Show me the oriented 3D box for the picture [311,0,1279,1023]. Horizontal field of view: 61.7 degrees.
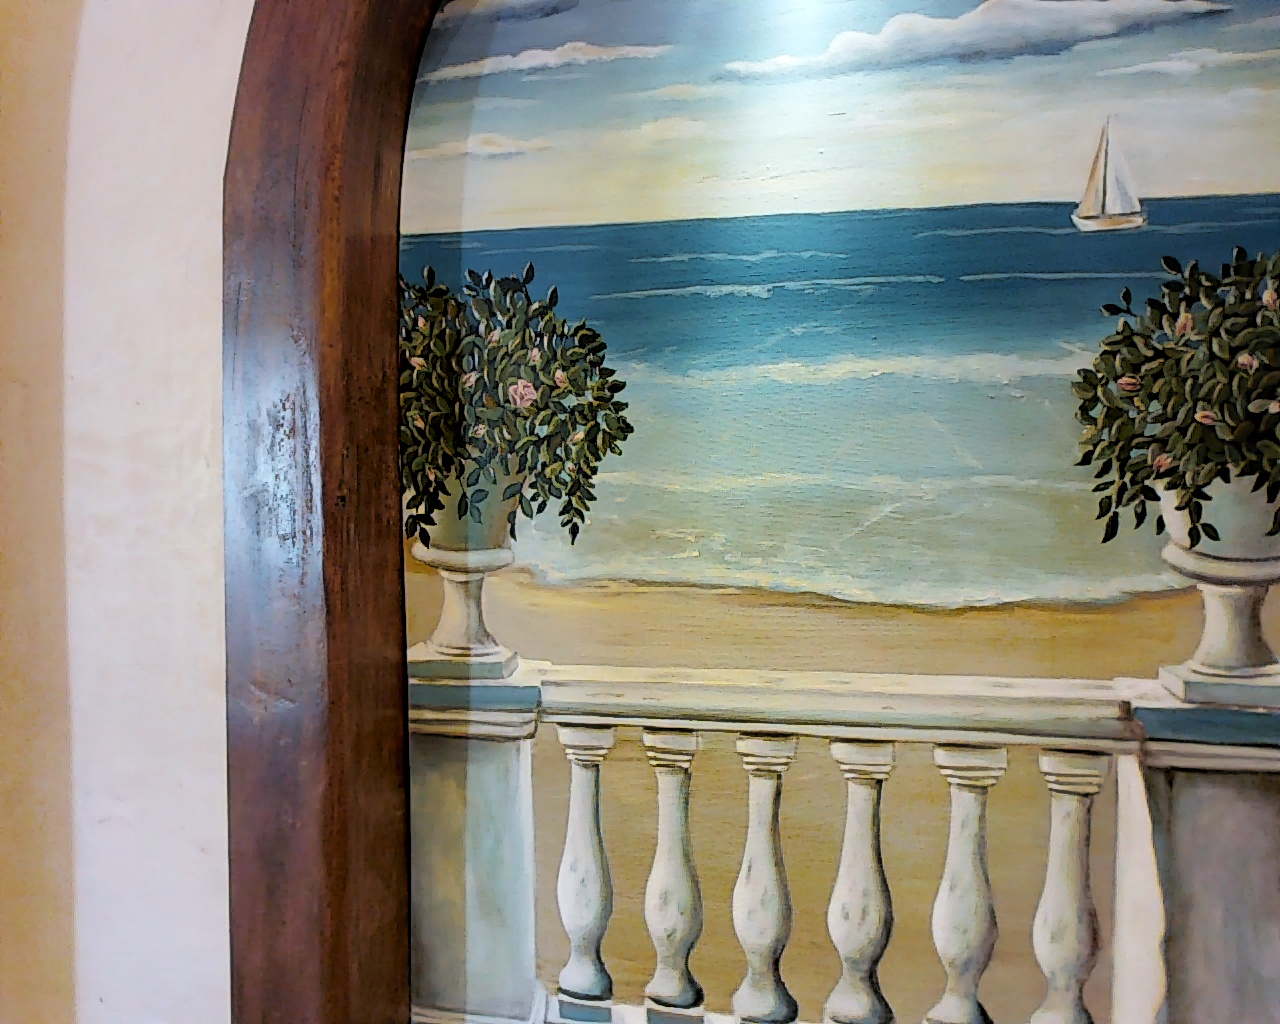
[{"bbox_3d":[0.150,-0.070,0.820,0.820,1.200,0.110,0,1,13],"label":"picture"}]
